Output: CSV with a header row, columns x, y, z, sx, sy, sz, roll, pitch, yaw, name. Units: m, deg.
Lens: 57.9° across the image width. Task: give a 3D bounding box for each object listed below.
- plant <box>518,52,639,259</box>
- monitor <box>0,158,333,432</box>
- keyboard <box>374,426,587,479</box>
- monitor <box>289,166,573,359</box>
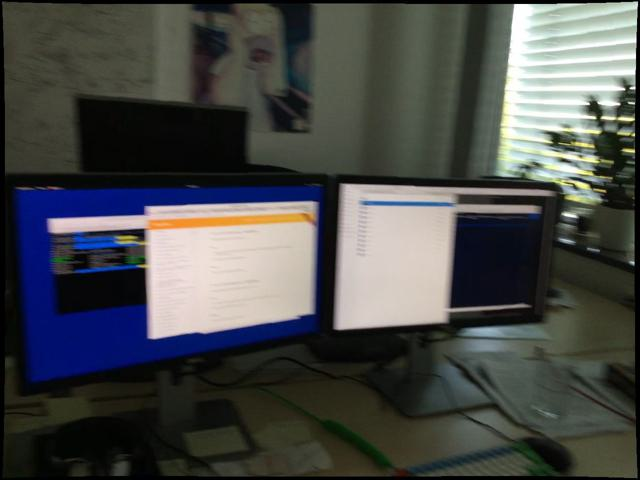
x,y,z,sx,sy,sz,roll,pitch,yaw,name
1.289,-0.360,2.310,0.530,0.701,0.740,-3,15,-19,plant
-0.250,0.060,1.030,0.530,0.380,0.160,-7,17,-32,monitor
0.280,0.400,1.010,0.350,0.040,0.120,-3,15,-19,keyboard
0.240,0.030,1.260,0.589,0.360,0.140,-3,15,-20,monitor
